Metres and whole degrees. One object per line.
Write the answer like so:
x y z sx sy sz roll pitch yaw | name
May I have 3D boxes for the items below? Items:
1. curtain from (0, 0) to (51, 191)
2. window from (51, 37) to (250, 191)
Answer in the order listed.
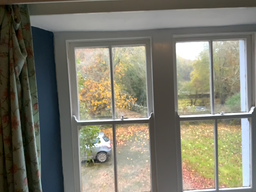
-0.580 0.400 1.030 0.310 1.710 0.310 -3 3 -7 | curtain
0.210 0.210 1.720 1.490 1.280 0.210 -3 3 -5 | window
